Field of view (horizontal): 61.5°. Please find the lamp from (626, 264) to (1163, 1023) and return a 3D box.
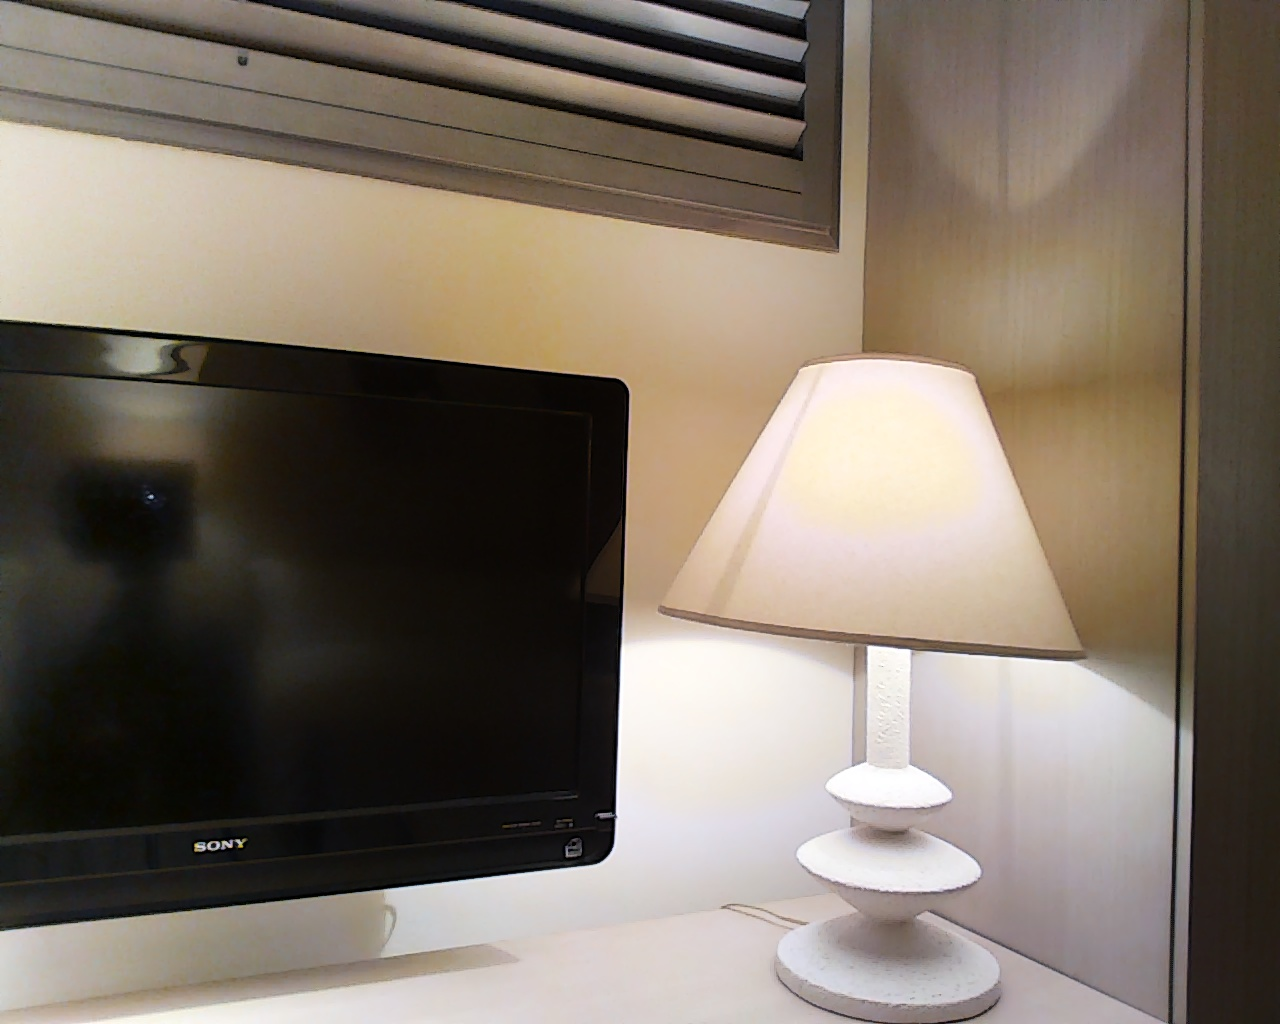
[{"bbox_3d":[0.280,0.170,1.290,0.440,0.790,0.430,2,-1,-24],"label":"lamp"}]
